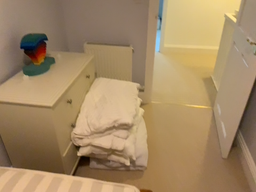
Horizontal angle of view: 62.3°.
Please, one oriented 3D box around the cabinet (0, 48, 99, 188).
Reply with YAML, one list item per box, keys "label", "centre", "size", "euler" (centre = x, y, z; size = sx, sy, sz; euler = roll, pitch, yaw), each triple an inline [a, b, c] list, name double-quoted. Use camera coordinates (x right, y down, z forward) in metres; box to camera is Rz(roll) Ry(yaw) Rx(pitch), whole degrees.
- label: "cabinet"
  centre: [-0.580, 0.120, 1.710]
  size: [0.440, 0.740, 0.810]
  euler: [6, 32, 7]
